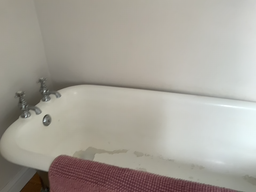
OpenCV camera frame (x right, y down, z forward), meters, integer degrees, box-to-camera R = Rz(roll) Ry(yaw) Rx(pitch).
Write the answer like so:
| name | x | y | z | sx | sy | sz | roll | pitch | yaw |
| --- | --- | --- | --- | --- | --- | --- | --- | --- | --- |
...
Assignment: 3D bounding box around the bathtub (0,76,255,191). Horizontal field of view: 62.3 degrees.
| name | x | y | z | sx | sy | sz | roll | pitch | yaw |
| --- | --- | --- | --- | --- | --- | --- | --- | --- | --- |
| bathtub | 0.240 | 0.380 | 1.160 | 1.650 | 0.580 | 0.770 | 7 | 30 | 15 |
